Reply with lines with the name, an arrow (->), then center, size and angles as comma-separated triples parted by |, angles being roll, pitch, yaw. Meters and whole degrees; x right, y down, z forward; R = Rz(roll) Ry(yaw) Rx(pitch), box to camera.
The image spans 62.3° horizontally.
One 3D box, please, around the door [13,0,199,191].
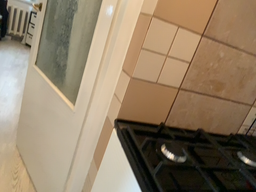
door -> -0.260, -0.170, 1.040 | 0.090, 2.010, 1.050 | 3, 26, -41
